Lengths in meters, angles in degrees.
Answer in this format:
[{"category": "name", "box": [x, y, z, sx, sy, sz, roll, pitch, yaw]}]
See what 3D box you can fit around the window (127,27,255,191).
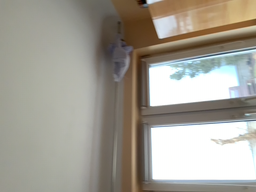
[{"category": "window", "box": [0.820, 0.080, 1.510, 0.140, 1.700, 1.190, 45, -138, -62]}]
